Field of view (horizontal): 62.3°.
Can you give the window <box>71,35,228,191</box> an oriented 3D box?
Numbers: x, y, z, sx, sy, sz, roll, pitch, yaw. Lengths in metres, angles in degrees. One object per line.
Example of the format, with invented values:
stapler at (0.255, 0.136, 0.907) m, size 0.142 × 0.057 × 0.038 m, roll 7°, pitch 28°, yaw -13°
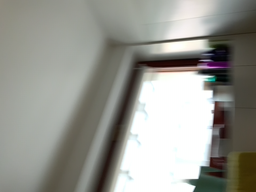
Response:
window at (0.210, 0.230, 1.480) m, size 0.280 × 0.860 × 1.410 m, roll 57°, pitch -138°, yaw -51°
